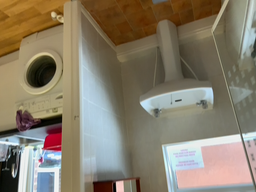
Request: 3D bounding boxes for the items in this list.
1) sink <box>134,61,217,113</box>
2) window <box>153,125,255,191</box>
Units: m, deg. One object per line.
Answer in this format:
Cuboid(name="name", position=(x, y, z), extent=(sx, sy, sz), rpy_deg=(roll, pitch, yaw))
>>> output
Cuboid(name="sink", position=(0.410, -0.050, 1.840), extent=(0.610, 0.210, 0.410), rpy_deg=(-11, 159, 16))
Cuboid(name="window", position=(0.900, 0.760, 1.740), extent=(1.250, 0.940, 0.210), rpy_deg=(-12, 159, 18))
